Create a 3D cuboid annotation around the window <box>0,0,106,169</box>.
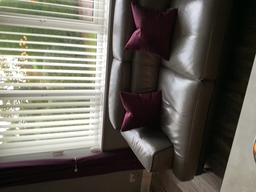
[{"bbox_3d":[-0.960,-0.360,2.270,0.110,1.390,2.370,-146,57,-64],"label":"window"}]
